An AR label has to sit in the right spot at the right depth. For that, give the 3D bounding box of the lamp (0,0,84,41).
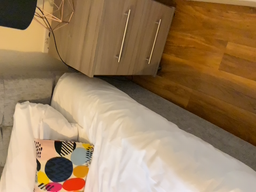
[{"bbox_3d":[-0.440,-0.400,0.870,0.270,0.420,0.250,25,111,39],"label":"lamp"}]
